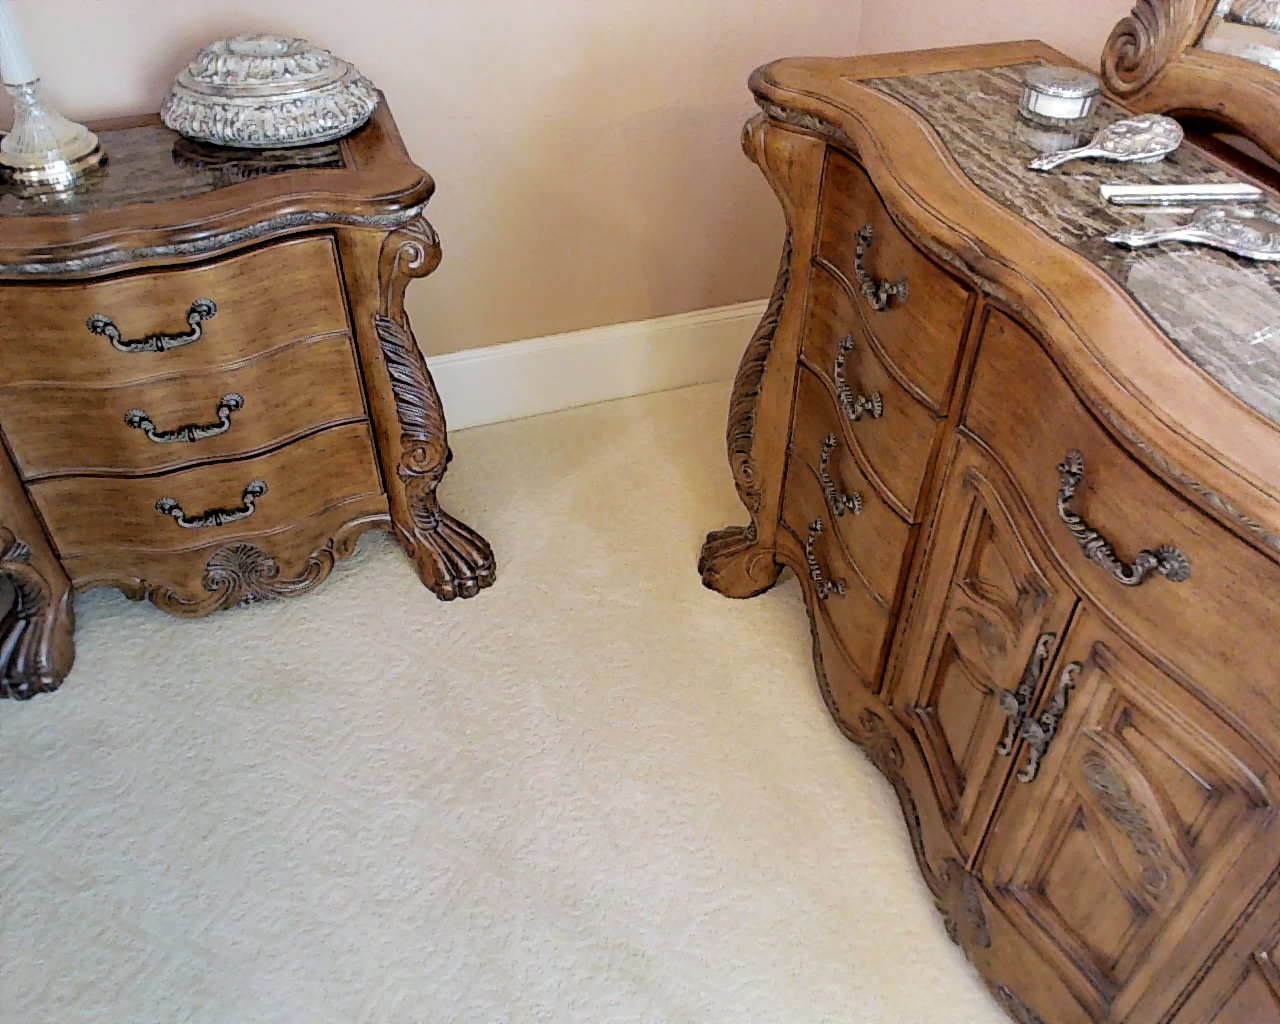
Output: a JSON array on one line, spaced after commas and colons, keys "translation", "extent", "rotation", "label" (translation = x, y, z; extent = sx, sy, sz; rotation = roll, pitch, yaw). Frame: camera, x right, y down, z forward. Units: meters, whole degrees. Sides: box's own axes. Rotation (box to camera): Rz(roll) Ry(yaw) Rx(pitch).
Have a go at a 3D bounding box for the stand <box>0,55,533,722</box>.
[{"translation": [-0.790, -0.240, 1.980], "extent": [1.010, 0.880, 0.610], "rotation": [-12, 43, -13], "label": "stand"}]
